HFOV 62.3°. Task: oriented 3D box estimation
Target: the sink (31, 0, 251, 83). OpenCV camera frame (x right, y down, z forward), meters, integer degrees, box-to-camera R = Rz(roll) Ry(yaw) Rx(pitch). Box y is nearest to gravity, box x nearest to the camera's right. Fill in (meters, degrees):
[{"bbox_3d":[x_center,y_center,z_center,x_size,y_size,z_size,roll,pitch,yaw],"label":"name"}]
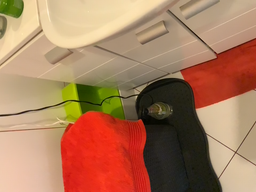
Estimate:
[{"bbox_3d":[-0.010,-0.320,0.470,0.500,0.140,0.420,-22,75,31],"label":"sink"}]
